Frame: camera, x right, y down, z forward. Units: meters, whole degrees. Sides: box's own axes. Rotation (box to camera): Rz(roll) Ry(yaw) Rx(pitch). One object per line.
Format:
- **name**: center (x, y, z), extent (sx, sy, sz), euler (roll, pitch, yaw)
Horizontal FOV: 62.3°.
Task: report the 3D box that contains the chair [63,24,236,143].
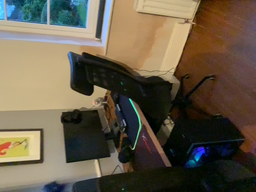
- **chair**: center (0.110, -0.090, 1.910), extent (0.690, 1.250, 0.640), euler (111, 150, -42)
